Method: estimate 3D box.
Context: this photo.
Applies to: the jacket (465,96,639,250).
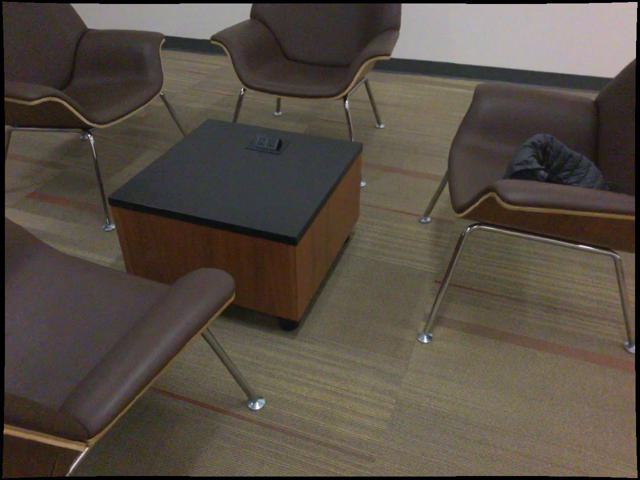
[{"bbox_3d":[0.708,-0.221,1.760,0.439,0.270,0.360,11,38,16],"label":"jacket"}]
